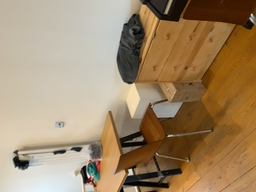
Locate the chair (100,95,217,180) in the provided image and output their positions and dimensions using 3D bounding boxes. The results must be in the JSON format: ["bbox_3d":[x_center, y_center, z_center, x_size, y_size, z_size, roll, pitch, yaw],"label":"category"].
[{"bbox_3d":[0.240,0.370,2.040,0.520,0.860,0.540,110,151,-42],"label":"chair"}]

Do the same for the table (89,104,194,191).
[{"bbox_3d":[0.010,0.960,2.830,1.600,0.740,0.840,111,150,-43],"label":"table"}]

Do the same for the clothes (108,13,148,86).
[{"bbox_3d":[-0.020,-0.360,1.710,0.470,0.130,0.320,111,150,-44],"label":"clothes"}]
